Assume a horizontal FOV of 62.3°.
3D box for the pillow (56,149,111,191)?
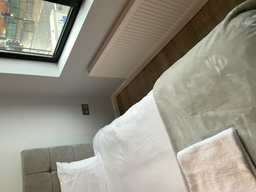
[{"bbox_3d":[-0.400,0.890,1.970,0.130,0.470,0.700,111,150,-62],"label":"pillow"}]
